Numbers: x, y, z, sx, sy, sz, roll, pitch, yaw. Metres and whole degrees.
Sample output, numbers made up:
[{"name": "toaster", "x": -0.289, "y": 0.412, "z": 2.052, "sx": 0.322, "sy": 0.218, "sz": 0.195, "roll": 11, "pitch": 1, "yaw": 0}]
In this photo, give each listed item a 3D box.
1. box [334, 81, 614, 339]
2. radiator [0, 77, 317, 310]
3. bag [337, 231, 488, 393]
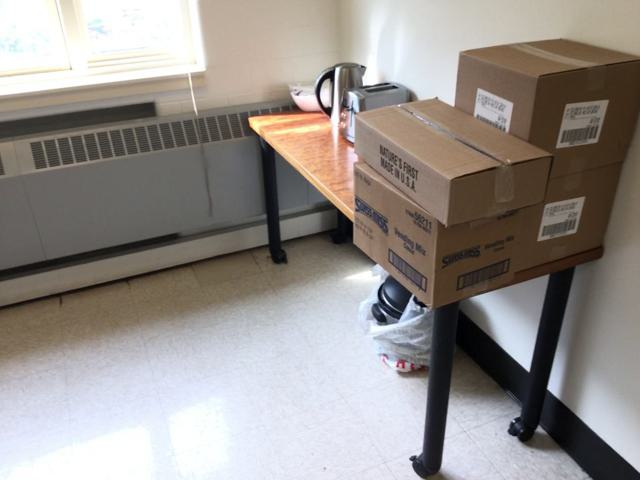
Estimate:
[{"name": "box", "x": 0.330, "y": -0.110, "z": 1.430, "sx": 0.440, "sy": 0.410, "sz": 0.460, "roll": -13, "pitch": 32, "yaw": -20}, {"name": "radiator", "x": -1.020, "y": -0.170, "z": 2.400, "sx": 2.050, "sy": 0.710, "sz": 0.300, "roll": -13, "pitch": 32, "yaw": -20}, {"name": "bag", "x": 0.320, "y": 0.250, "z": 2.150, "sx": 0.390, "sy": 0.370, "sz": 0.380, "roll": -13, "pitch": 32, "yaw": -20}]
